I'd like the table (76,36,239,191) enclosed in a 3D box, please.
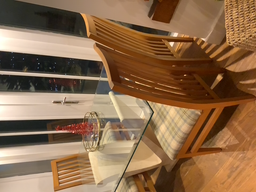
[{"bbox_3d":[0.080,0.340,1.920,0.790,0.720,1.400,60,139,45],"label":"table"}]

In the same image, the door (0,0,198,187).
[{"bbox_3d":[-0.600,0.150,2.170,0.090,2.120,2.200,59,138,46],"label":"door"}]
